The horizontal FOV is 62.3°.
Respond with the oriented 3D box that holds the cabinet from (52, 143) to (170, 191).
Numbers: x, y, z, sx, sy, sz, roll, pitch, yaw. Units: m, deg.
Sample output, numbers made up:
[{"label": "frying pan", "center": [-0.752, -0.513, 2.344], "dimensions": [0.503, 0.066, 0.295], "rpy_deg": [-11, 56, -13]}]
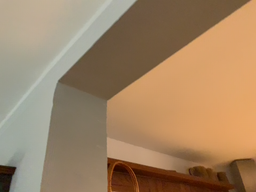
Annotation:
[{"label": "cabinet", "center": [-0.090, 0.660, 1.510], "dimensions": [0.770, 0.390, 0.380], "rpy_deg": [25, -43, -37]}]
